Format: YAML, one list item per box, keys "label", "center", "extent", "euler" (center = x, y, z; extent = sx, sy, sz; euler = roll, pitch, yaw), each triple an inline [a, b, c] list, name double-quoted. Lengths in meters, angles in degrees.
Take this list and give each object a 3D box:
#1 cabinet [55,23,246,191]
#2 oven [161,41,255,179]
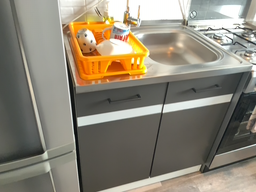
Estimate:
- label: "cabinet"
  center: [0.040, 0.080, 1.320]
  extent: [0.800, 0.850, 0.580]
  euler: [-8, 38, -18]
- label: "oven"
  center: [0.670, 0.070, 1.550]
  extent: [0.520, 0.700, 0.620]
  euler: [-8, 38, -18]
